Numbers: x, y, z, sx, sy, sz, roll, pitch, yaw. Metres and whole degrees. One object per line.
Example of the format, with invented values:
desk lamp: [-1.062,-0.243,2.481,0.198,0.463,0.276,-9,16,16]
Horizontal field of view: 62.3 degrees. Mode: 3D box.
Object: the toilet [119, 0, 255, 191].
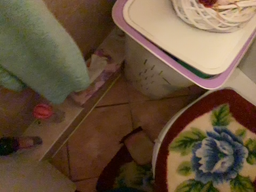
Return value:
toilet: [0.360,0.080,0.730,0.380,0.790,0.730,37,79,1]
